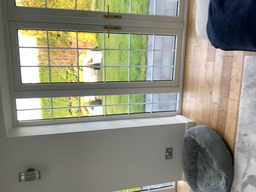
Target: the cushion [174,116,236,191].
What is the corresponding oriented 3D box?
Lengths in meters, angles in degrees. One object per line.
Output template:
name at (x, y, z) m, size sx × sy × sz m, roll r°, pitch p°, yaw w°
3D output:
cushion at (0.780, 0.760, 2.310) m, size 0.680 × 0.170 × 0.900 m, roll -138°, pitch 48°, yaw -68°
